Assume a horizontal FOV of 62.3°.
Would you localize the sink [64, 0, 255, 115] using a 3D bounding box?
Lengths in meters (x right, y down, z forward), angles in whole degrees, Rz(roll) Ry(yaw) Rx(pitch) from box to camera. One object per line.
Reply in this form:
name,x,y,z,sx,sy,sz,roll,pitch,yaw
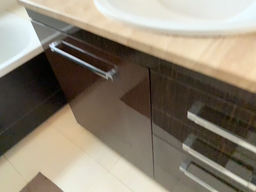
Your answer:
sink,0.180,-0.270,0.700,0.580,0.160,0.480,27,55,30
